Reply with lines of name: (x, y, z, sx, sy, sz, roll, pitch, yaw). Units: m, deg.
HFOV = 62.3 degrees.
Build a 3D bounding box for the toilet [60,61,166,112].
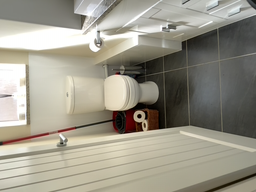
toilet: (-0.180, -0.050, 2.080, 0.710, 0.790, 0.380, -8, 84, 59)
